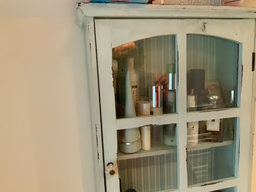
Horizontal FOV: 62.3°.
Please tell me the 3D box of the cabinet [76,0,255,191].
[{"bbox_3d":[0.110,0.130,0.510,0.400,0.640,0.150,-5,10,-14],"label":"cabinet"}]
